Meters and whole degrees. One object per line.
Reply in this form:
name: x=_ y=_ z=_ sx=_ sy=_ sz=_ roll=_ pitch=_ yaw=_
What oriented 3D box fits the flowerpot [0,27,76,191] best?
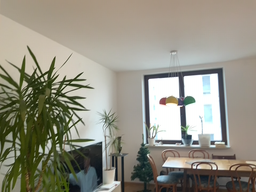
flowerpot: x=-1.020 y=0.420 z=2.020 sx=0.670 sy=1.790 sz=0.820 roll=-3 pitch=-5 yaw=20

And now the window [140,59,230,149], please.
window: x=1.200 y=0.200 z=4.720 sx=1.830 sy=1.830 sz=0.220 roll=-3 pitch=-5 yaw=19

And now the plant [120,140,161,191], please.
plant: x=0.270 y=1.500 z=4.400 sx=0.720 sy=1.070 sz=0.490 roll=-3 pitch=-5 yaw=19
